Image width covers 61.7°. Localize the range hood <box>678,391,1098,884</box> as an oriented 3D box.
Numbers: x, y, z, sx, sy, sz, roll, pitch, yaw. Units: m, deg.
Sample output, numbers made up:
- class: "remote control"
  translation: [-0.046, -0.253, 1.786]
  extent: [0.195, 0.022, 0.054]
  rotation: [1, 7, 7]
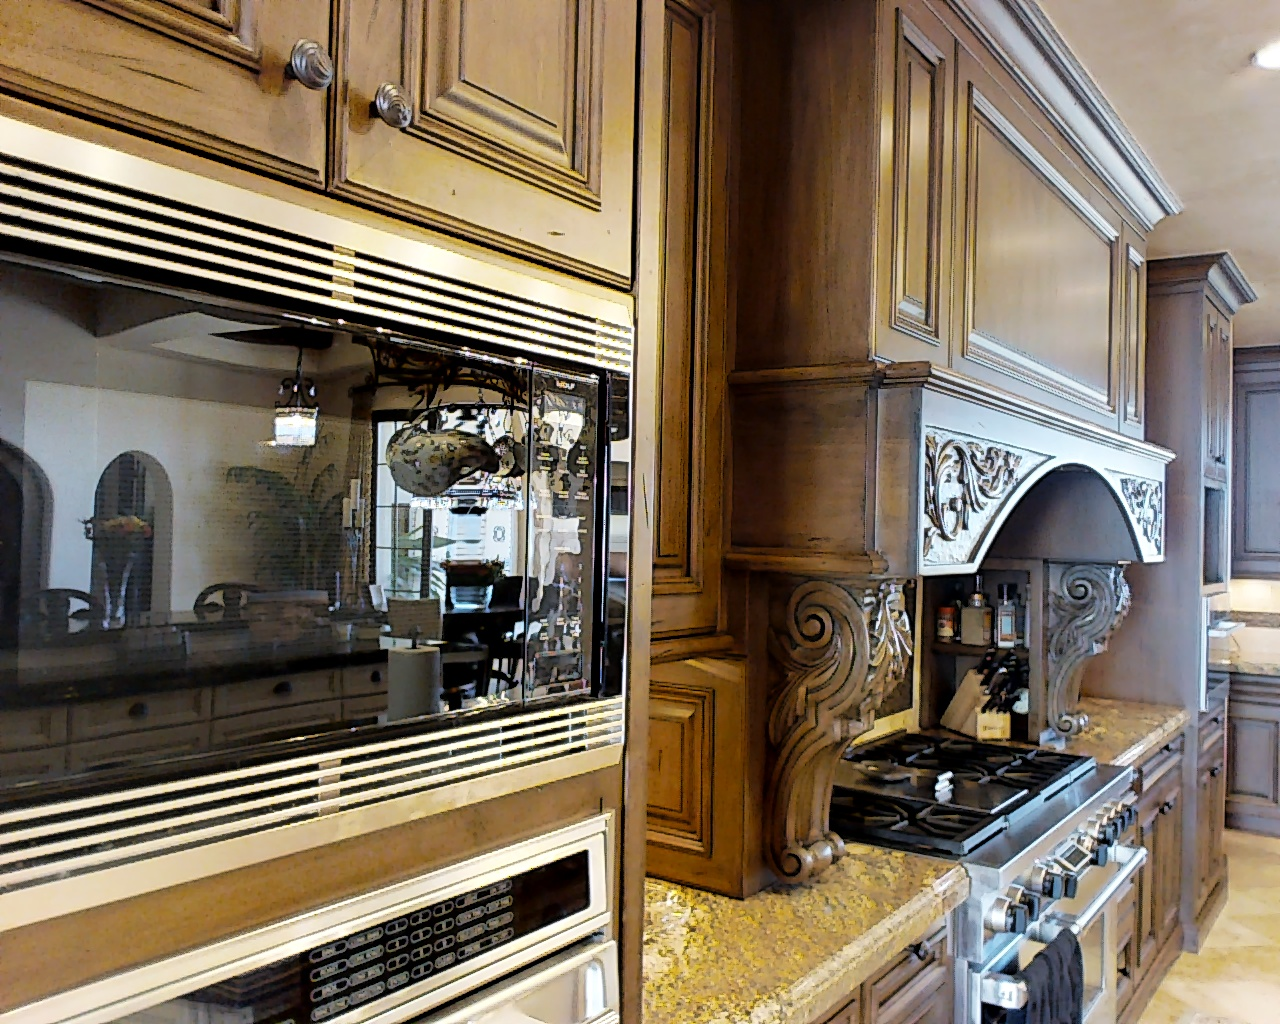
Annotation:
- class: "range hood"
  translation: [0.740, 0.260, 2.830]
  extent: [0.540, 0.960, 1.440]
  rotation: [1, -1, 36]
